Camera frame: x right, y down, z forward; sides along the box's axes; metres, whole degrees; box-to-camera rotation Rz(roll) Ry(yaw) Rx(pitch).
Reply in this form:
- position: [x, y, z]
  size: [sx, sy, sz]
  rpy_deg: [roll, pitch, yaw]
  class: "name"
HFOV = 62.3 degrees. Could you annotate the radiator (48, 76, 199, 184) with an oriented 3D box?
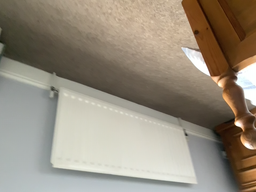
- position: [0.060, 0.320, 1.660]
  size: [1.290, 0.600, 0.080]
  rpy_deg: [21, 138, -34]
  class: "radiator"
